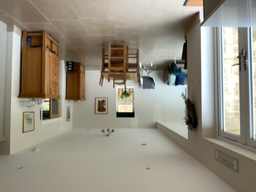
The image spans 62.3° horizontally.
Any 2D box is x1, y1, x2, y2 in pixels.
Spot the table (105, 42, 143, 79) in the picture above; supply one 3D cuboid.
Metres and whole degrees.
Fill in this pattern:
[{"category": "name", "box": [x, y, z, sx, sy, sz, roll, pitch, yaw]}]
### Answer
[{"category": "table", "box": [-0.100, -0.930, 6.010, 0.940, 0.740, 1.590, 1, 178, -1]}]
